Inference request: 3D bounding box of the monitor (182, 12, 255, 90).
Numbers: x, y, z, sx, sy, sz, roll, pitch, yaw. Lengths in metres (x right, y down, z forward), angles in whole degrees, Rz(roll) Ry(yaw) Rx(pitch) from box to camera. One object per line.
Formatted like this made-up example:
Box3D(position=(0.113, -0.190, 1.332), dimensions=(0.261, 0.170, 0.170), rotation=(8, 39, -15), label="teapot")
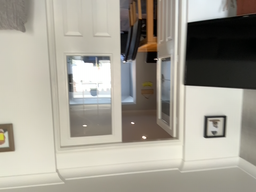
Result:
Box3D(position=(1.050, -0.400, 1.950), dimensions=(1.140, 0.660, 0.080), rotation=(6, -169, 41), label="monitor")
